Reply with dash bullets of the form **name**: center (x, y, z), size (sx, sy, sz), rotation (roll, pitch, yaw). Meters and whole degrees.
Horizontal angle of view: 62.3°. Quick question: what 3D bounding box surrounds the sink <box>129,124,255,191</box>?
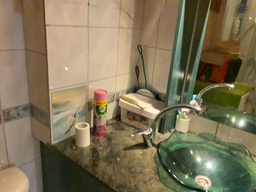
- **sink**: center (0.320, 0.330, 0.920), size (0.430, 0.140, 0.460), rotation (20, 25, 37)
